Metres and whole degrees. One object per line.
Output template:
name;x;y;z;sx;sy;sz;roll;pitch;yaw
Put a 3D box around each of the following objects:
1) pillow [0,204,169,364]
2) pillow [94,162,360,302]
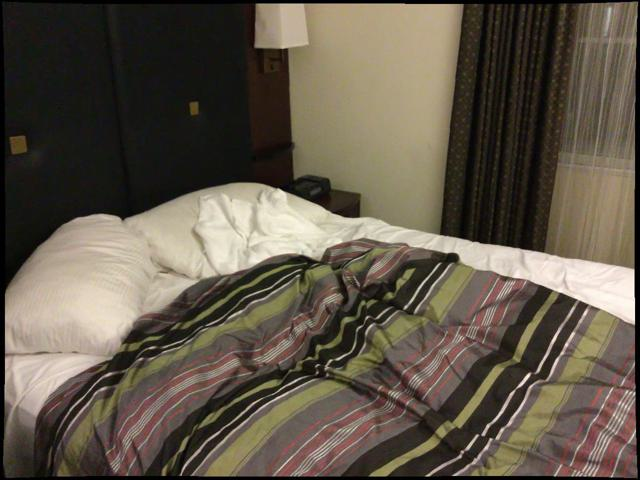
pillow;-0.689;0.100;1.660;0.360;0.240;0.510;1;23;1
pillow;-0.300;-0.080;2.130;0.620;0.160;0.760;13;26;26
